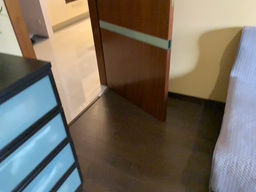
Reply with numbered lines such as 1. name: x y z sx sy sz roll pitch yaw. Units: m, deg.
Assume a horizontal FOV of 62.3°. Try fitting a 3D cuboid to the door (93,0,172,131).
1. door: -0.020 -0.750 1.480 0.060 2.140 0.780 -28 41 -32
